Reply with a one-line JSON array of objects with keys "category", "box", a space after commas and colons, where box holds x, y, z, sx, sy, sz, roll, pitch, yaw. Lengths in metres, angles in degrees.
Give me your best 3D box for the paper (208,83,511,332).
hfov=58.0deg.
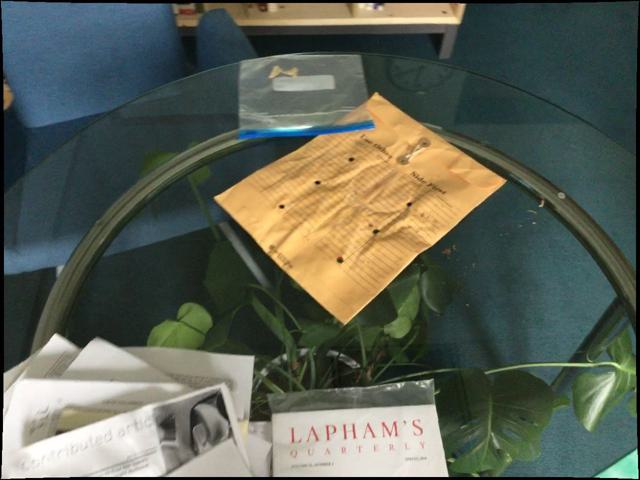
[{"category": "paper", "box": [0.060, -0.070, 0.830, 0.350, 0.020, 0.260, -37, 65, -22]}]
